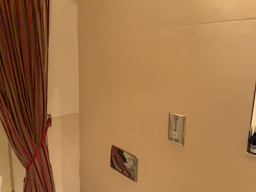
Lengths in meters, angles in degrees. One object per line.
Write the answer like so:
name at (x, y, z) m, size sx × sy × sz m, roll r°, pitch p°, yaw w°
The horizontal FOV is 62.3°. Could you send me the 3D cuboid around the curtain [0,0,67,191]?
curtain at (-0.640, 0.270, 1.370) m, size 0.410 × 1.970 × 0.170 m, roll -9°, pitch 15°, yaw -42°
